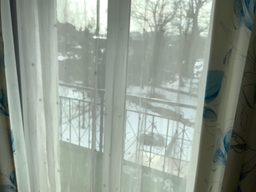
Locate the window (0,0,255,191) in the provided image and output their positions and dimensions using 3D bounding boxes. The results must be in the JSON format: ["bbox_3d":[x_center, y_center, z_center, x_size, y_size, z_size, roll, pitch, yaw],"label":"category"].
[{"bbox_3d":[-0.060,0.030,1.240,1.730,2.680,0.180,9,16,20],"label":"window"}]
